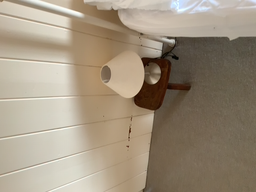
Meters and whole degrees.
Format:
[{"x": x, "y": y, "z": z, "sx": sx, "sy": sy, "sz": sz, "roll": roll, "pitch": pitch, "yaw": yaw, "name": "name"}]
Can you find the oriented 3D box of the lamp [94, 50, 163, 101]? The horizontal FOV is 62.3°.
[{"x": 0.010, "y": -0.110, "z": 1.130, "sx": 0.200, "sy": 0.300, "sz": 0.220, "roll": 13, "pitch": 101, "yaw": 40, "name": "lamp"}]
